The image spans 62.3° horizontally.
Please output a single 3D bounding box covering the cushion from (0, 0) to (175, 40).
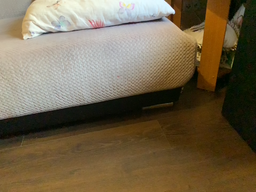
[{"bbox_3d":[-0.200,-0.520,1.130,0.710,0.170,0.600,-9,34,-8],"label":"cushion"}]

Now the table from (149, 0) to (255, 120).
[{"bbox_3d":[0.590,-0.440,1.340,0.620,0.550,1.030,-10,34,-9],"label":"table"}]
